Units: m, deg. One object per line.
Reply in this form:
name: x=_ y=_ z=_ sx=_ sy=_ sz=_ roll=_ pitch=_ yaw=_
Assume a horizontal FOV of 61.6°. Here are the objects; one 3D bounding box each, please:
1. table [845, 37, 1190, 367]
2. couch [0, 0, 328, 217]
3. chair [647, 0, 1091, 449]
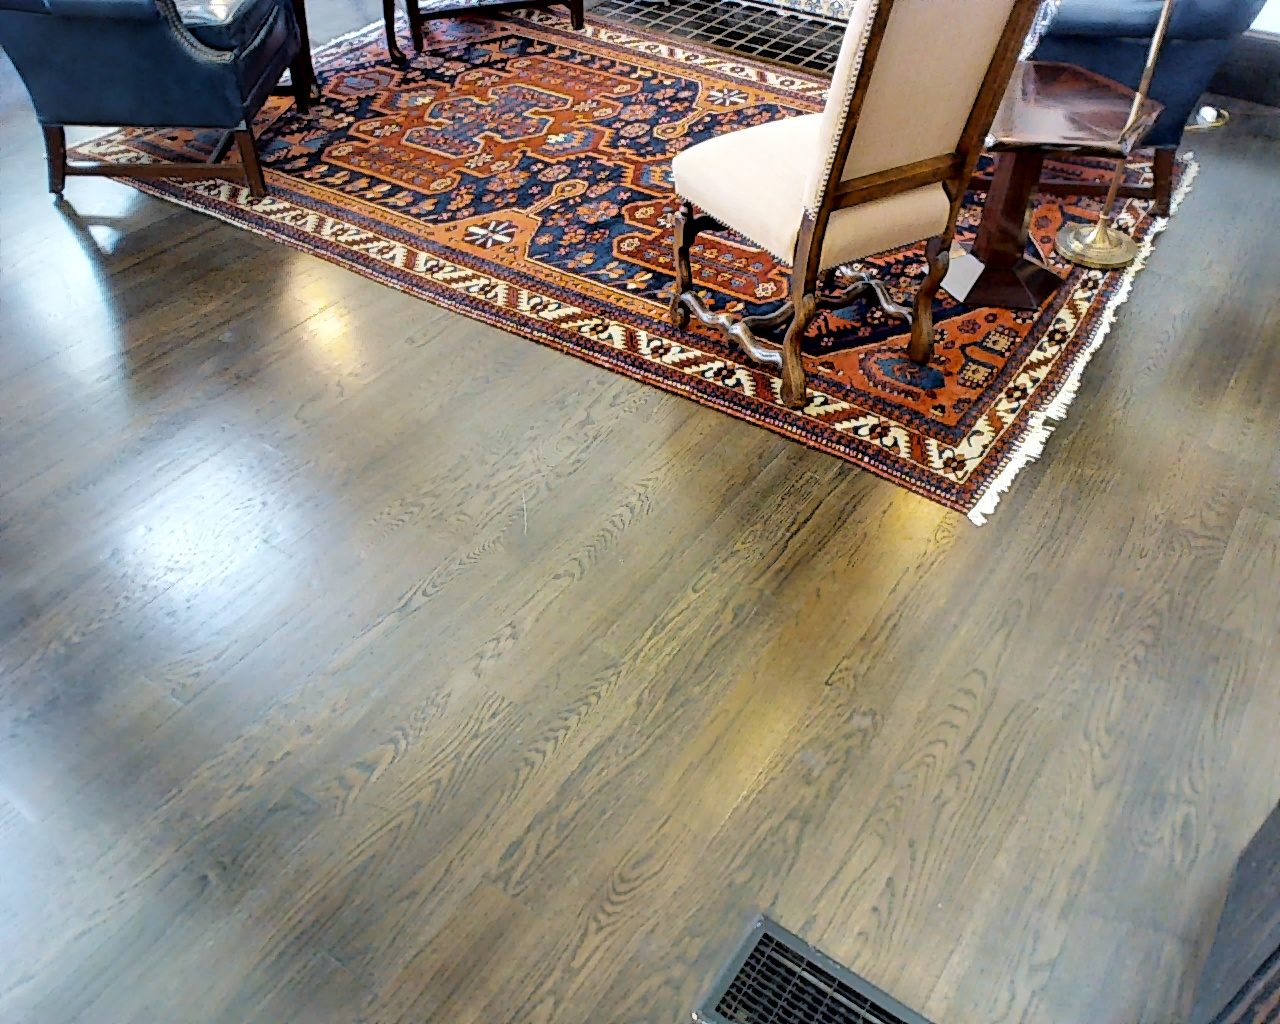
table: x=0.970 y=-0.830 z=2.800 sx=0.570 sy=0.500 sz=0.640 roll=25 pitch=48 yaw=24
couch: x=-1.550 y=-1.600 z=3.140 sx=0.890 sy=1.110 sz=0.950 roll=0 pitch=42 yaw=-2
chair: x=0.440 y=-0.830 z=2.340 sx=0.590 sy=1.100 sz=0.630 roll=-21 pitch=47 yaw=-23
